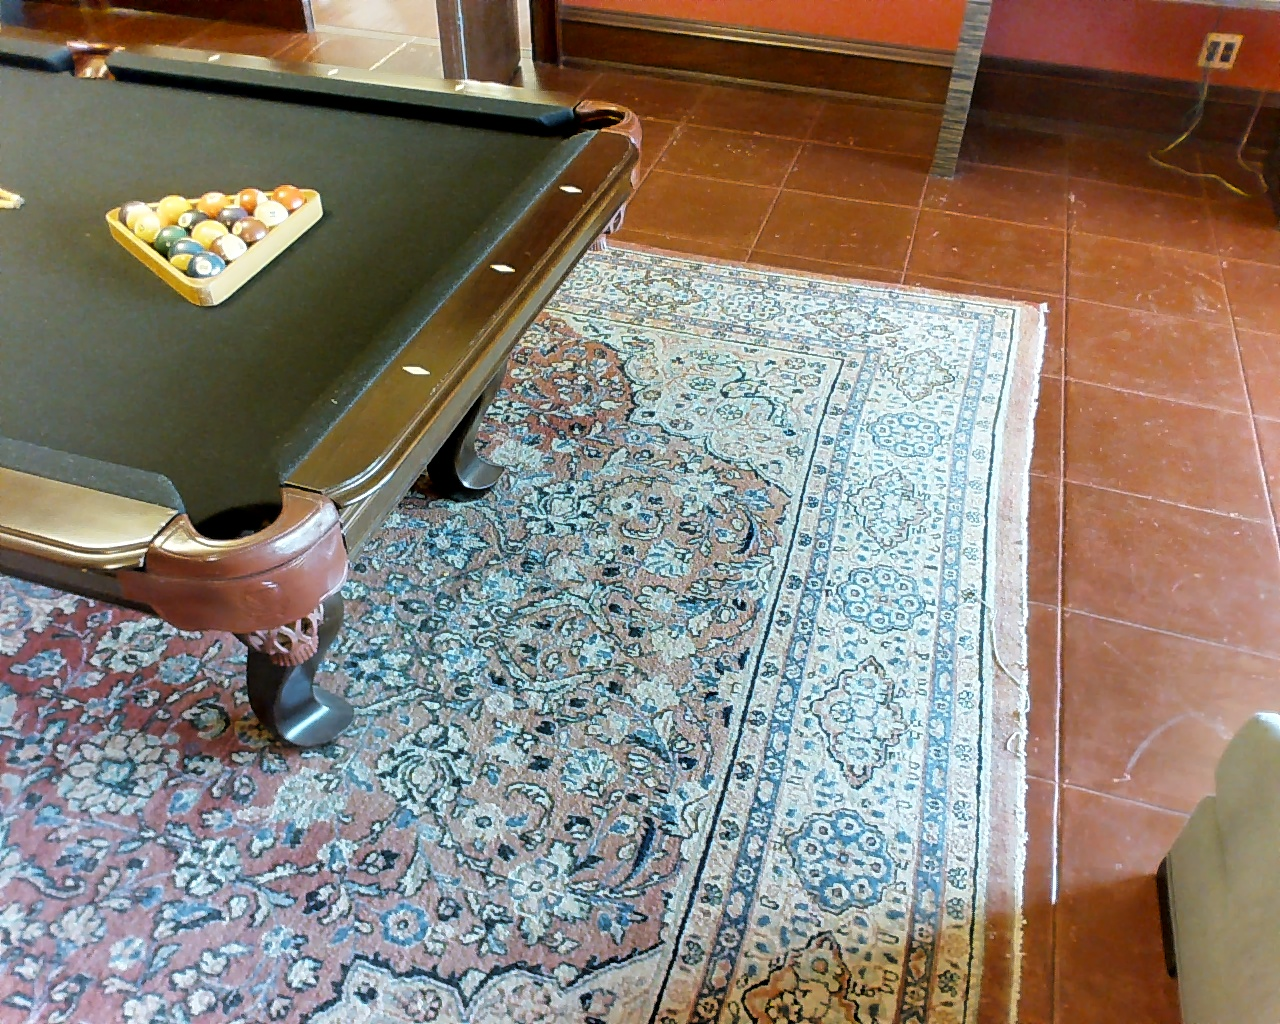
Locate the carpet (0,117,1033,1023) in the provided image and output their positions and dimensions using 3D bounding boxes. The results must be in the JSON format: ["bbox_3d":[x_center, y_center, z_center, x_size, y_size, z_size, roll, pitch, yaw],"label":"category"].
[{"bbox_3d":[-1.410,-0.080,2.420,4.370,0.050,3.300,11,43,12],"label":"carpet"}]

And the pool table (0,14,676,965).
[{"bbox_3d":[-1.350,-0.320,2.110,2.530,0.780,1.400,12,43,13],"label":"pool table"}]
